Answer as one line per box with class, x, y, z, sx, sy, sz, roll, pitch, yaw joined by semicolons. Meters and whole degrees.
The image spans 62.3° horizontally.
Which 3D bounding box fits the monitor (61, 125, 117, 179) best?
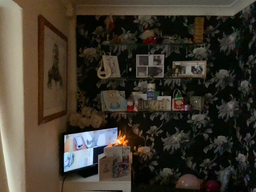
monitor;-0.320;0.470;1.860;0.520;0.360;0.050;-2;4;-40
